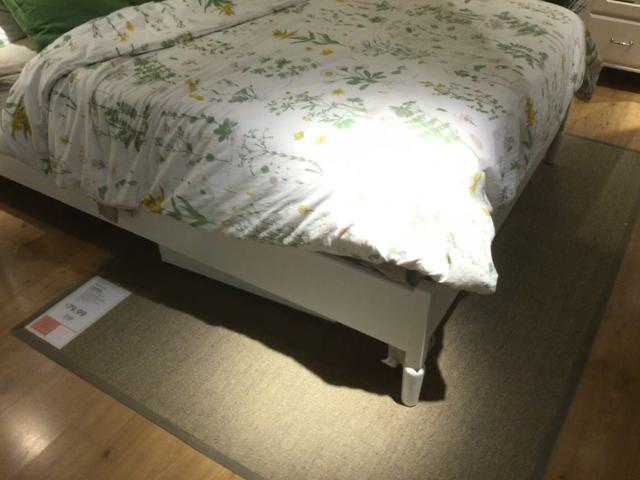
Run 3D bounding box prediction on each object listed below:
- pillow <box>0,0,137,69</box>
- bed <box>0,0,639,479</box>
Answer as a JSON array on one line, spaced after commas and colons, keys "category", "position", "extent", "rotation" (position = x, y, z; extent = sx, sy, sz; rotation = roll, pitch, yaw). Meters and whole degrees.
[{"category": "pillow", "position": [-0.890, -0.830, 1.860], "extent": [0.220, 0.370, 0.390], "rotation": [-21, 18, 46]}, {"category": "bed", "position": [-0.180, -0.660, 2.130], "extent": [2.190, 1.150, 1.740], "rotation": [20, 43, 25]}]
